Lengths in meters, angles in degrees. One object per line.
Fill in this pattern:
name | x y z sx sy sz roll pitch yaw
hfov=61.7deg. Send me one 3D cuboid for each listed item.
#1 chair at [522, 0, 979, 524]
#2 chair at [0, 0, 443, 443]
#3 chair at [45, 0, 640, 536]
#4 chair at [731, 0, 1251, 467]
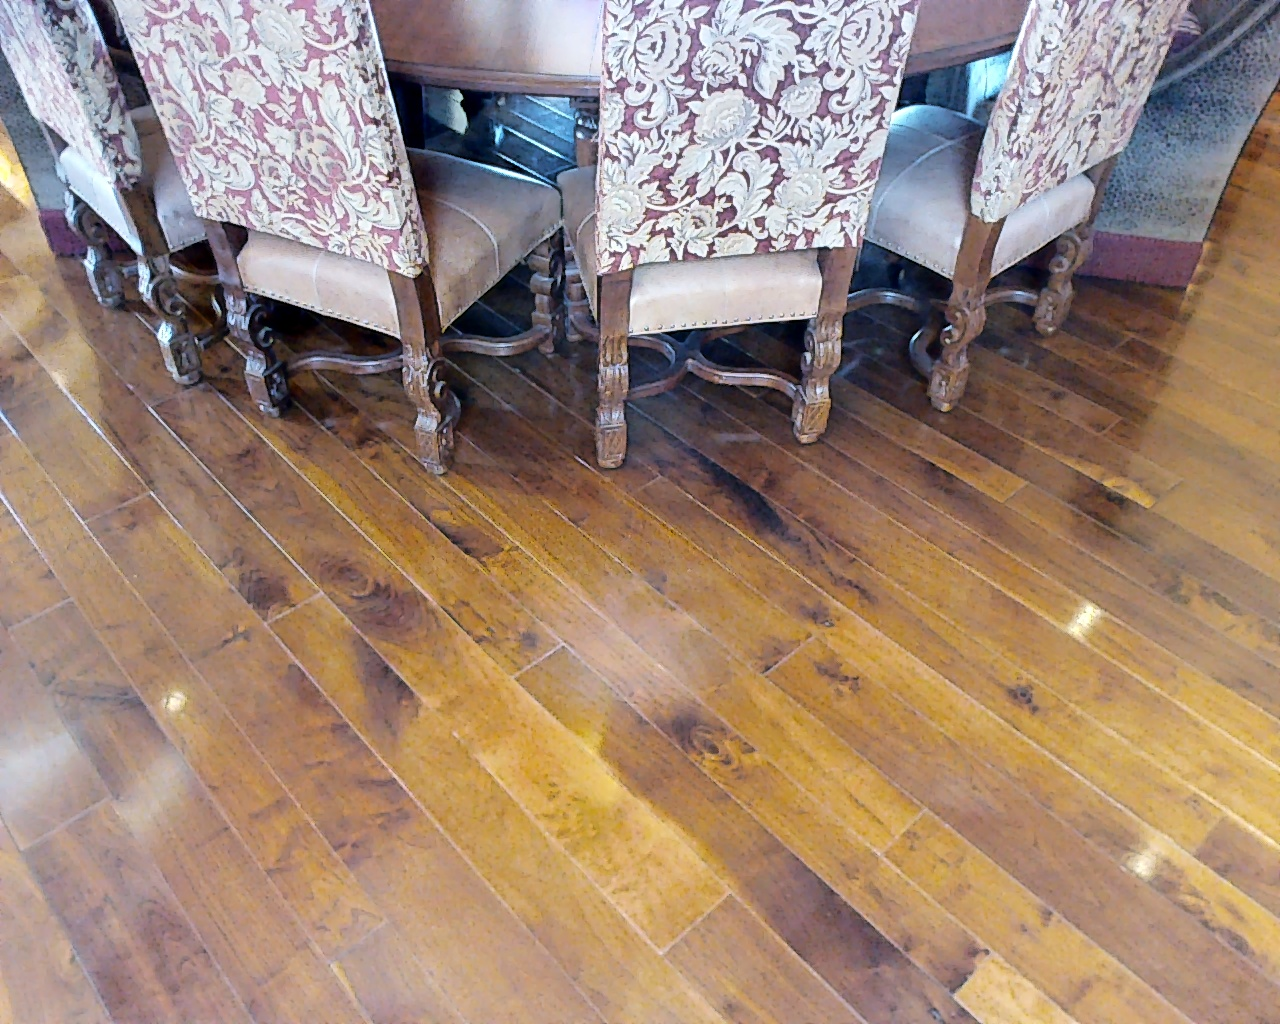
chair | 0.140 -0.800 2.190 0.660 1.400 0.810 -7 43 -8
chair | -1.070 -1.040 2.440 0.700 1.400 0.810 33 52 31
chair | -0.520 -0.850 2.230 0.690 1.410 0.910 20 46 20
chair | 0.770 -0.960 2.410 0.730 1.370 0.740 -31 51 -30
